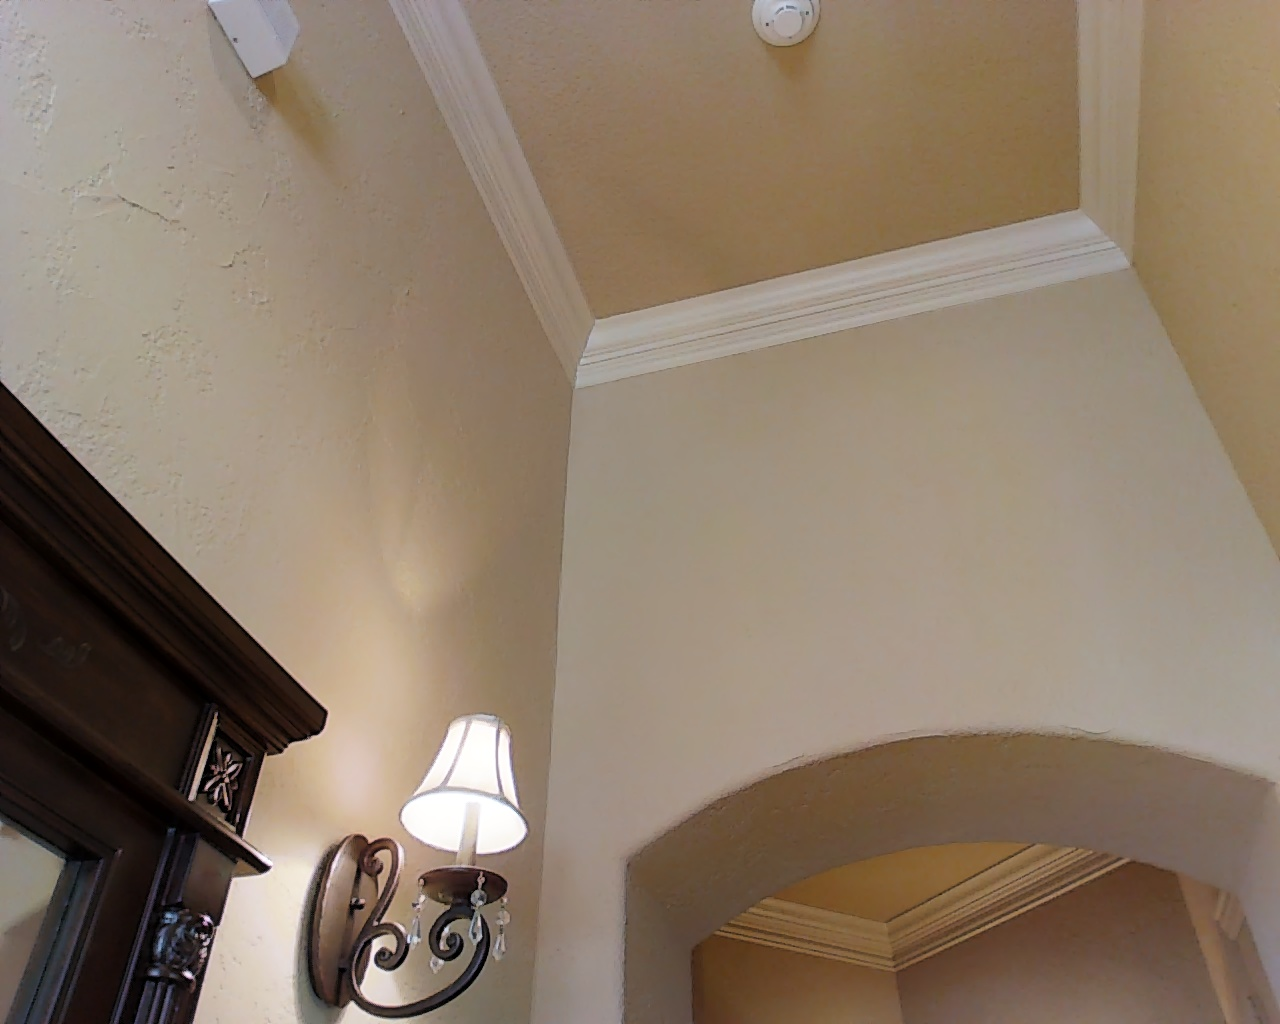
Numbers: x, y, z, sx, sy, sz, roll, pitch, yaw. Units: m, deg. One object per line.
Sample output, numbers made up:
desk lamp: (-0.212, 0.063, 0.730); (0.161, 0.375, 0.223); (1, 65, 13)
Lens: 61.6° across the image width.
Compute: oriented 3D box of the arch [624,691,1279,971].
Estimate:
arch: (0.560, 0.620, 1.980); (1.070, 0.180, 0.520); (-11, -43, 13)
